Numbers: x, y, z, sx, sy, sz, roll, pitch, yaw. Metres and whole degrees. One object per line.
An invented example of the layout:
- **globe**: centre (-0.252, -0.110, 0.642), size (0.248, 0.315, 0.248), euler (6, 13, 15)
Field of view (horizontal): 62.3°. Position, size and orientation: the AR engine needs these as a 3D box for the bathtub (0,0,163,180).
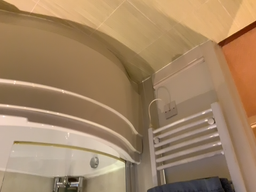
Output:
- **bathtub**: centre (-0.730, -0.030, 1.130), size (0.940, 0.590, 1.660), euler (-29, 139, 36)
